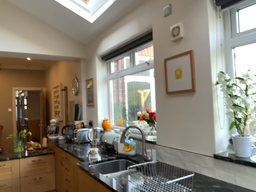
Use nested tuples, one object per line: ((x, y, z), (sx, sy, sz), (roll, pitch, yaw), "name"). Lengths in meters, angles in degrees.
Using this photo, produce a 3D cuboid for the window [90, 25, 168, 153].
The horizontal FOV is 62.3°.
((-0.120, -0.040, 2.980), (0.210, 1.330, 1.710), (-1, -2, -30), "window")
